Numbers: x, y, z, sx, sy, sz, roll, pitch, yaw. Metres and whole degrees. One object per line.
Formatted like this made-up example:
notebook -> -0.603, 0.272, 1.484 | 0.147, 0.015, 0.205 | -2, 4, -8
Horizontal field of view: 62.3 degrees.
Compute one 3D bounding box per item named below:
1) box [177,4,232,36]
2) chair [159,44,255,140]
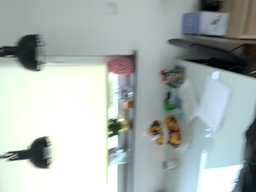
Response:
box -> 0.570, -0.580, 1.630 | 0.340, 0.220, 0.200 | -132, 41, -65
chair -> 0.750, -0.080, 1.650 | 0.450, 0.860, 0.590 | -132, 41, -65
